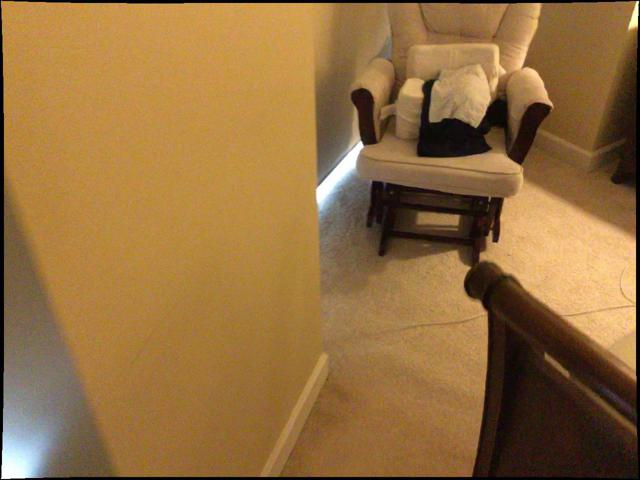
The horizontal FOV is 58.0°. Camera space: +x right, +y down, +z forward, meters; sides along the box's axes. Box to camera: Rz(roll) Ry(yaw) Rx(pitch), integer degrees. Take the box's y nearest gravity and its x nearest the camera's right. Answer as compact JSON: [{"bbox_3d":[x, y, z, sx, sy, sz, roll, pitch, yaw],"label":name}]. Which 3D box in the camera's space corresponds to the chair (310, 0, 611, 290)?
[{"bbox_3d":[0.469,-0.541,2.230,0.808,0.961,0.941,9,40,10],"label":"chair"}]
